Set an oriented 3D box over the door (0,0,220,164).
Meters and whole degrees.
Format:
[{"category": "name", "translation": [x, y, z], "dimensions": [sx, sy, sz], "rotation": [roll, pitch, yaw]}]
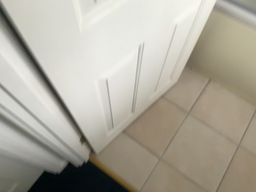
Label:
[{"category": "door", "translation": [0.070, -0.280, 0.410], "dimensions": [0.730, 1.900, 0.060], "rotation": [-41, 73, -19]}]
